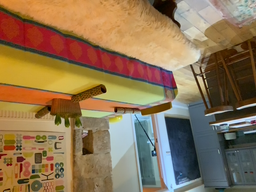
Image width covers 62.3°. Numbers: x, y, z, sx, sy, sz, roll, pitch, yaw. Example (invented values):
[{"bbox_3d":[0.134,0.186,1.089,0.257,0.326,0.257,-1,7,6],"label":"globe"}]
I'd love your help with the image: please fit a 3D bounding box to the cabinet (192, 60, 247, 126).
[{"bbox_3d":[1.550,-0.010,3.600,0.450,0.940,0.730,-20,160,40],"label":"cabinet"}]
